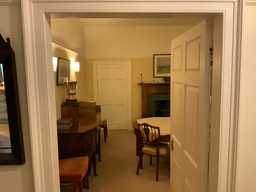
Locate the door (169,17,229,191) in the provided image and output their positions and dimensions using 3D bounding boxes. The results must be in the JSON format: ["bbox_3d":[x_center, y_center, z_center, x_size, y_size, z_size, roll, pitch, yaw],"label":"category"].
[{"bbox_3d":[0.510,0.470,1.810,0.070,1.950,1.090,-1,7,-2],"label":"door"}]

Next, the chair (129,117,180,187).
[{"bbox_3d":[0.420,0.830,3.370,0.570,0.840,0.550,6,10,41],"label":"chair"}]

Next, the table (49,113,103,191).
[{"bbox_3d":[-0.780,0.840,3.560,0.560,0.820,1.390,-1,7,-2],"label":"table"}]

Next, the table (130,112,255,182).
[{"bbox_3d":[1.250,0.810,3.820,2.360,0.730,1.380,-1,7,-1],"label":"table"}]

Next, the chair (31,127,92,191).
[{"bbox_3d":[-0.770,0.900,2.600,0.540,0.910,0.540,-1,7,-2],"label":"chair"}]
